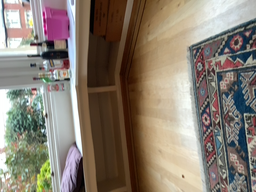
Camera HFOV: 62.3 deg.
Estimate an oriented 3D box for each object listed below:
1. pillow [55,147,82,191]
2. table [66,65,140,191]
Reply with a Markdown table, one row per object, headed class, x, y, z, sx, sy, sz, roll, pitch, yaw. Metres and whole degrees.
| class | x | y | z | sx | sy | sz | roll | pitch | yaw |
| --- | --- | --- | --- | --- | --- | --- | --- | --- | --- |
| pillow | -0.520 | 0.700 | 1.840 | 0.460 | 0.160 | 0.420 | 167 | 96 | -69 |
| table | -0.250 | 0.340 | 1.940 | 0.470 | 0.460 | 1.150 | 177 | 87 | -69 |
